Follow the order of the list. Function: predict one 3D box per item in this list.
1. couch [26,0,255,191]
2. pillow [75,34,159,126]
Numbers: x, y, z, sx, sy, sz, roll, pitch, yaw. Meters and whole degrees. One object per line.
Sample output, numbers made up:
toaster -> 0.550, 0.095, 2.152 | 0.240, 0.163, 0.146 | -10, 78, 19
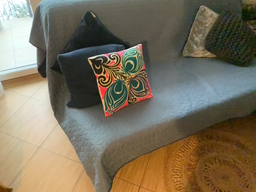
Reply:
couch -> 0.330, -0.280, 1.690 | 1.820, 0.870, 1.100 | -17, 49, -19
pillow -> -0.050, -0.090, 1.410 | 0.370, 0.430, 0.260 | -35, 53, -6
